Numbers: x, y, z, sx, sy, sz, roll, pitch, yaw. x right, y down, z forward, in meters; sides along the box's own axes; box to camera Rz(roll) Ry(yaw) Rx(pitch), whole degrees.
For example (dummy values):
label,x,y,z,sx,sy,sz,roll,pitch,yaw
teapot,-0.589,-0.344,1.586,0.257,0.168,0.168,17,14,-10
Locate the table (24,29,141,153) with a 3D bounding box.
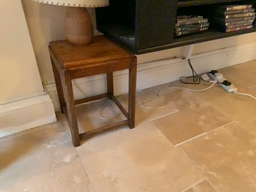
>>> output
label,x,y,z,sx,sy,sz,roll,pitch,yaw
table,-0.210,-0.050,1.000,0.420,0.400,0.340,-12,35,-19
